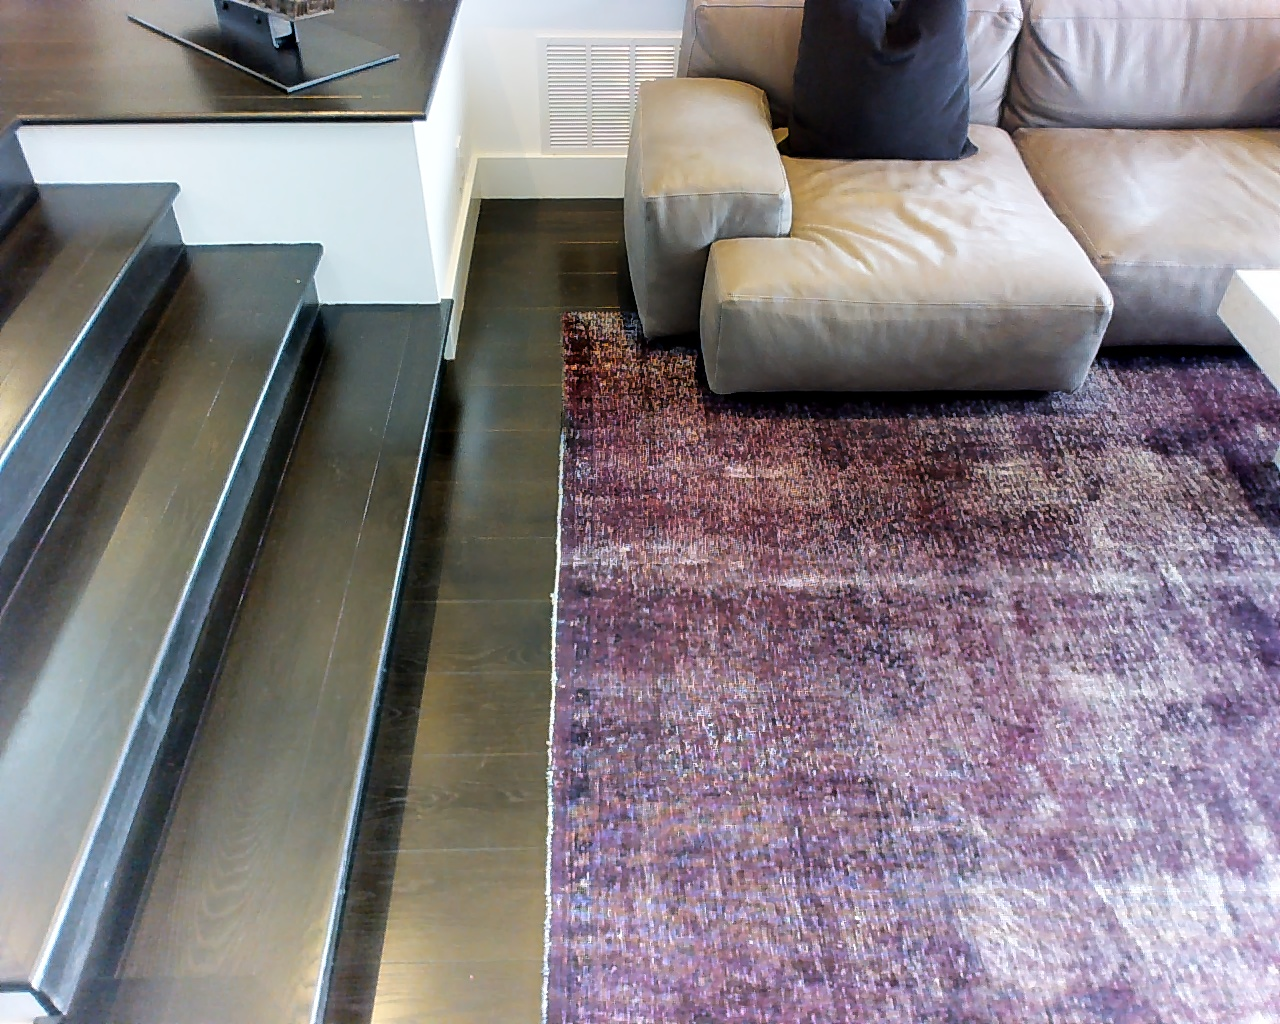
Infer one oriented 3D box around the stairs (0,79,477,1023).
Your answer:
[{"bbox_3d":[-0.860,0.000,1.790,0.950,0.700,1.930,0,42,-2],"label":"stairs"}]
